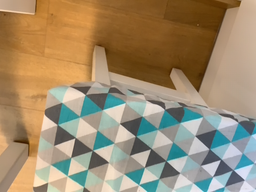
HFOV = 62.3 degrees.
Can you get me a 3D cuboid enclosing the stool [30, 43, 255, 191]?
[{"bbox_3d":[0.030,0.100,0.510,0.340,0.510,0.330,11,108,-8],"label":"stool"}]
